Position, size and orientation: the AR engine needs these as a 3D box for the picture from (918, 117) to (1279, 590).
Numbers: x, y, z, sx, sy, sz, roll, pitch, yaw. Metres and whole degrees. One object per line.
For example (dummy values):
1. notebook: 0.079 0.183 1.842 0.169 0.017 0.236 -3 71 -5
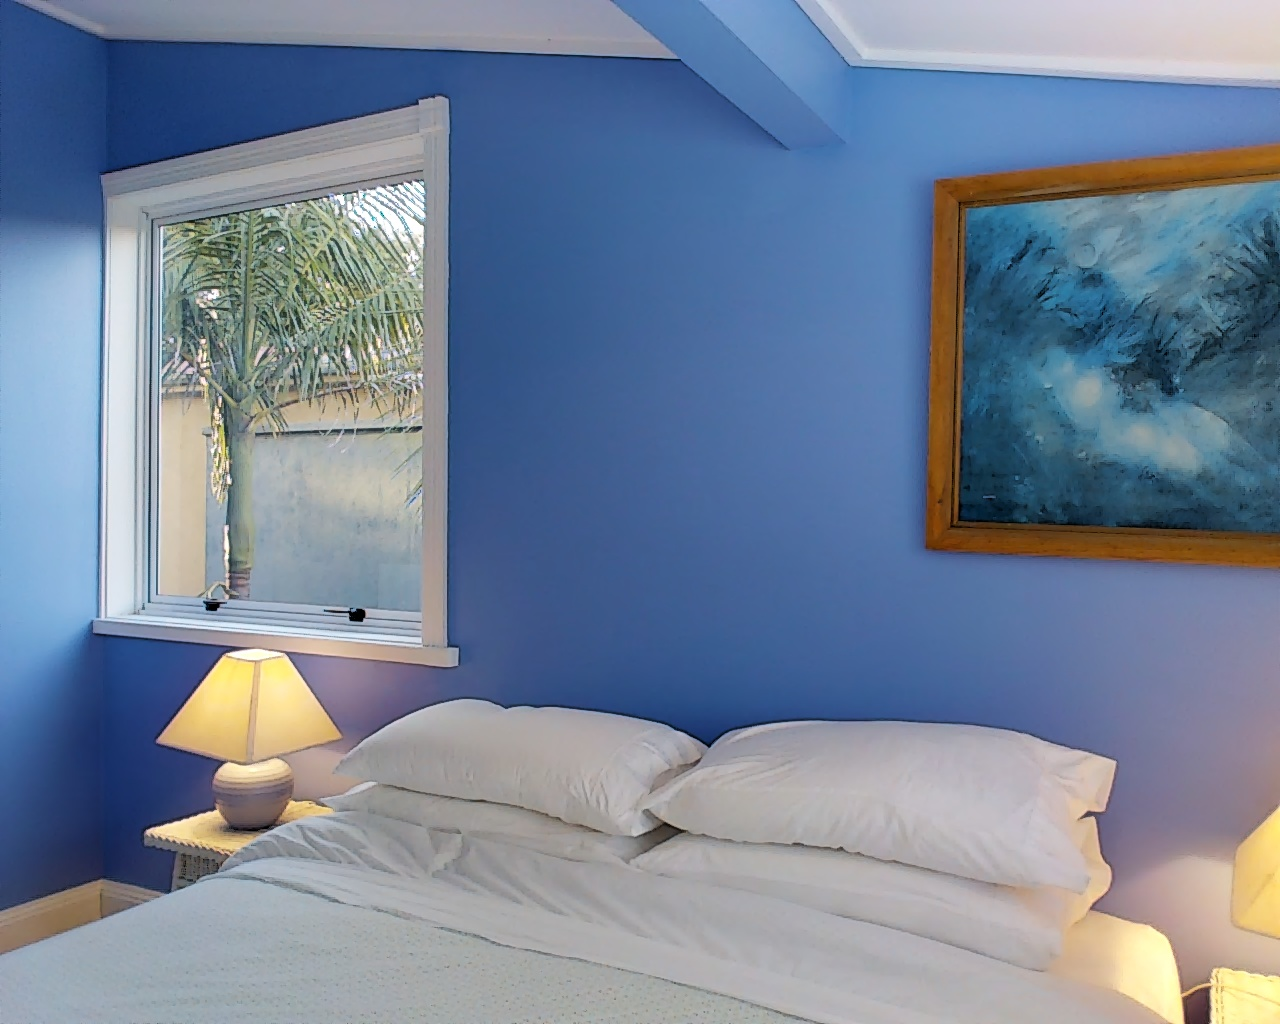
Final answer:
1. picture: 0.910 -0.260 1.850 0.840 0.770 0.050 1 0 28
